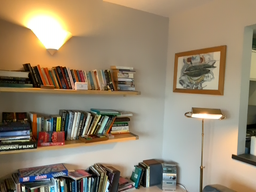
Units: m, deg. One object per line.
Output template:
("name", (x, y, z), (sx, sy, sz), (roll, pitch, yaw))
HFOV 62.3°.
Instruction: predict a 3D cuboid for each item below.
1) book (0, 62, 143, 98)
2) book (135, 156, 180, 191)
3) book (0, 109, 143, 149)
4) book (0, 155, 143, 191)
("book", (-0.470, -0.120, 1.880), (1.320, 0.250, 0.190), (1, 3, -30))
("book", (0.320, 0.840, 2.330), (0.360, 0.230, 0.330), (1, 3, -28))
("book", (-0.480, 0.270, 1.930), (1.330, 0.250, 0.190), (1, 3, -29))
("book", (-0.510, 0.800, 1.870), (1.330, 0.310, 0.300), (1, 3, -30))
